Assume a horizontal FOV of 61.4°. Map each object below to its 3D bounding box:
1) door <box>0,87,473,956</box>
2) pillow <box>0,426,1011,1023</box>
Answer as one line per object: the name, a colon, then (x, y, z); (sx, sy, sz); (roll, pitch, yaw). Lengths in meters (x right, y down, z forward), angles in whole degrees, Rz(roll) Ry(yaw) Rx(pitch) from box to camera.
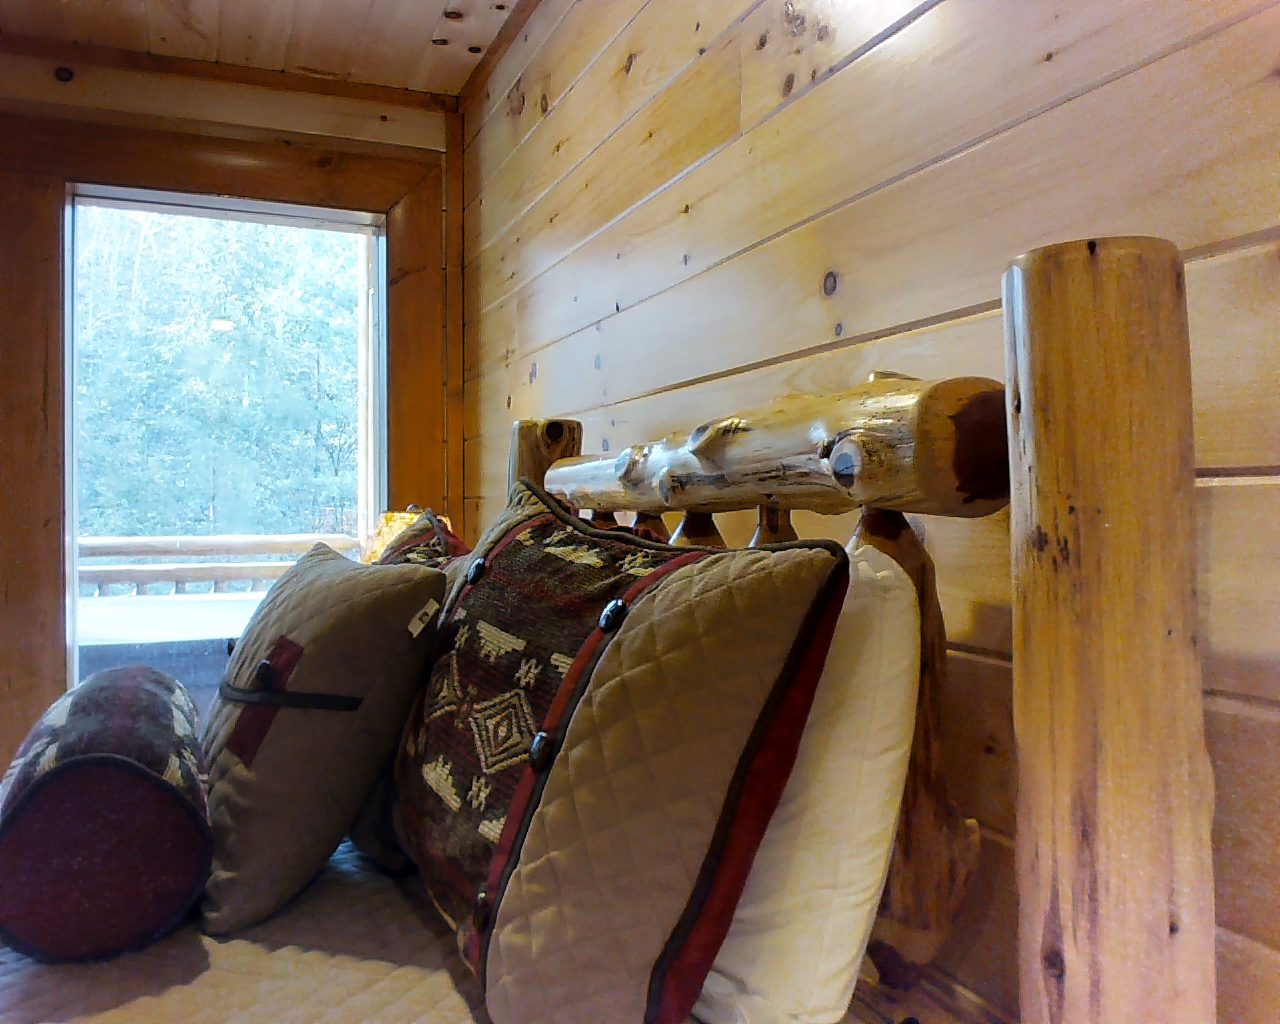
door: (-2.219, 0.020, 2.580); (3.629, 2.201, 0.180); (1, 0, -22)
pillow: (-0.280, 0.180, 1.280); (0.700, 0.450, 1.260); (1, 0, -22)
